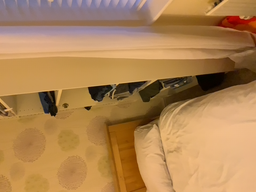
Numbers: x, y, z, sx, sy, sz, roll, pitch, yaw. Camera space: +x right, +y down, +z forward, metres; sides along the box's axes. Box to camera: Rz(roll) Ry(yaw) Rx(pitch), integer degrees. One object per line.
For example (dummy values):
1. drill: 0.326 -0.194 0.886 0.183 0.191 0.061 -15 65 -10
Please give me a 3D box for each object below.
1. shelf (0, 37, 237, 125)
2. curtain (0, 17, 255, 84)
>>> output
1. shelf: -0.250 -0.100 1.800 1.020 2.010 0.290 150 110 -66
2. curtain: -0.160 -0.260 1.160 0.280 2.160 0.200 149 111 -66
